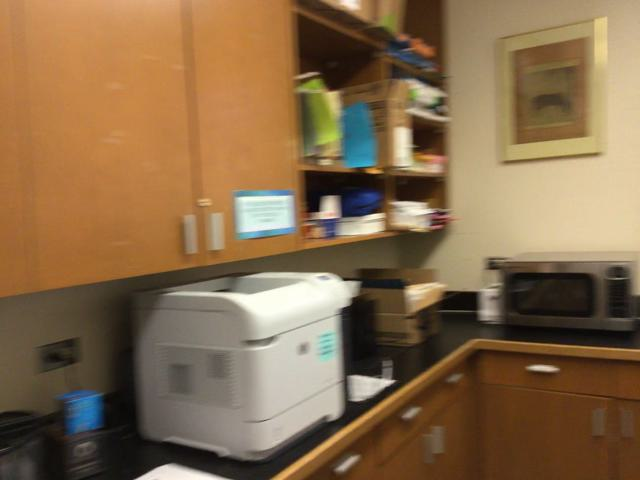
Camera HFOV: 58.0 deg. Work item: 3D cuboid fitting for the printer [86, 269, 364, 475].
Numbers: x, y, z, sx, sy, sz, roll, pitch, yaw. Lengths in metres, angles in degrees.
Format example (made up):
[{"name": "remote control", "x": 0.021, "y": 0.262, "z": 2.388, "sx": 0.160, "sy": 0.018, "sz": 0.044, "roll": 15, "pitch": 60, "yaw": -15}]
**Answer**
[{"name": "printer", "x": -0.260, "y": 0.320, "z": 1.640, "sx": 0.590, "sy": 0.410, "sz": 0.460, "roll": -4, "pitch": 2, "yaw": 33}]
